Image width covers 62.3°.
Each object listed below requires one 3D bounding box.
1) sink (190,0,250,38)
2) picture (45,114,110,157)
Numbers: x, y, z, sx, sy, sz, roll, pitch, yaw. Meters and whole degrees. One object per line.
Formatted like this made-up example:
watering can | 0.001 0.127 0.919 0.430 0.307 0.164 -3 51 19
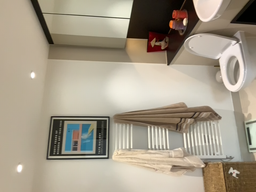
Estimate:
sink | 0.670 -0.790 1.570 0.560 0.180 0.460 113 157 -71
picture | -0.510 0.410 2.210 0.040 0.630 0.430 112 159 -71
